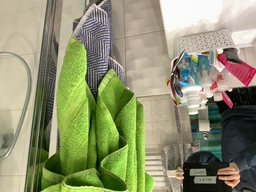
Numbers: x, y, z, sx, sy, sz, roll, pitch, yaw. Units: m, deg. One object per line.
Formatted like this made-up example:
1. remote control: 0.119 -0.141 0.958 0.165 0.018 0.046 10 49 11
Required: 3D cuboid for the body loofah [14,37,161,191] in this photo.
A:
1. body loofah: -0.050 0.420 0.680 0.230 0.970 0.620 -6 161 16
